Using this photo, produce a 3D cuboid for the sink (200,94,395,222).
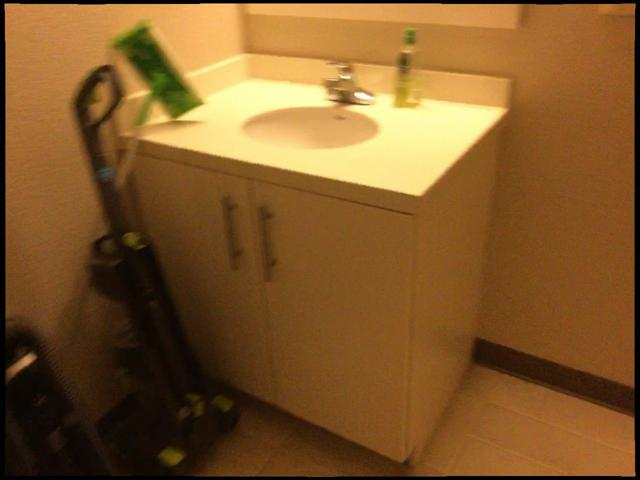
[{"bbox_3d":[-0.050,-0.230,1.500,0.379,0.150,0.320,17,37,27],"label":"sink"}]
